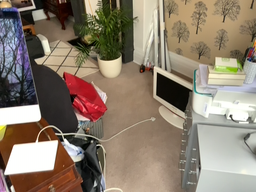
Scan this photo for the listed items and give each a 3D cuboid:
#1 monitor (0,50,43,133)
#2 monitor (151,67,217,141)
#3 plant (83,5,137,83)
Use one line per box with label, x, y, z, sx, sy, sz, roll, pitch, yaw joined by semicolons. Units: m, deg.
monitor;-0.550;0.010;0.720;0.430;0.380;0.040;-2;49;-12
monitor;0.480;0.060;2.010;0.050;0.460;0.680;-26;42;-29
plant;-0.190;-0.640;2.630;0.560;0.780;0.270;-24;42;-28
